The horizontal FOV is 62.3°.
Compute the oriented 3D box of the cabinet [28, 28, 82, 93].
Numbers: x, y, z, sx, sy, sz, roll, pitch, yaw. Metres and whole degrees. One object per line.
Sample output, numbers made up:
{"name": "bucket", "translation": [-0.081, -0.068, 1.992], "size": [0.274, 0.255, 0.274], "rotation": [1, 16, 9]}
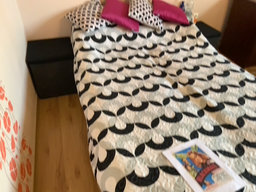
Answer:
{"name": "cabinet", "translation": [-0.720, -0.360, 2.100], "size": [0.400, 0.440, 0.420], "rotation": [-12, 40, -17]}
